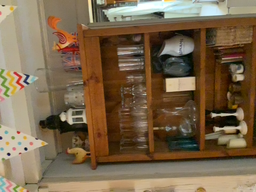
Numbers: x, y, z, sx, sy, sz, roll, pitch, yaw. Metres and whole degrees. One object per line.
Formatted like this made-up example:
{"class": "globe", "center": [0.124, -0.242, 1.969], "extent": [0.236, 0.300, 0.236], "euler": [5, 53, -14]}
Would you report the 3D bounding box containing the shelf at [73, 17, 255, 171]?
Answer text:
{"class": "shelf", "center": [0.700, -0.030, 1.560], "extent": [0.360, 2.020, 0.980], "euler": [-87, -6, -78]}
